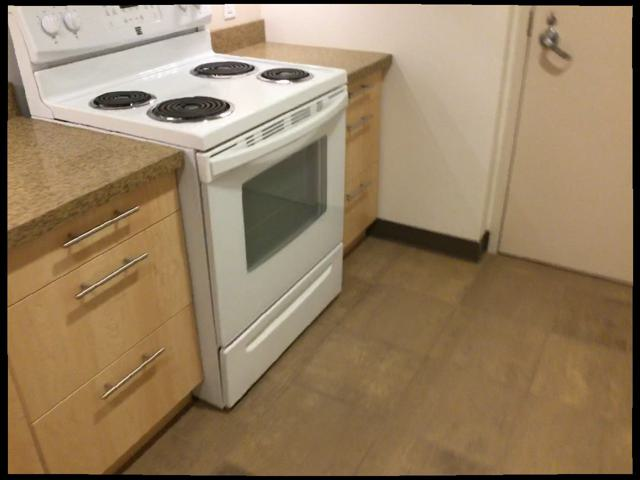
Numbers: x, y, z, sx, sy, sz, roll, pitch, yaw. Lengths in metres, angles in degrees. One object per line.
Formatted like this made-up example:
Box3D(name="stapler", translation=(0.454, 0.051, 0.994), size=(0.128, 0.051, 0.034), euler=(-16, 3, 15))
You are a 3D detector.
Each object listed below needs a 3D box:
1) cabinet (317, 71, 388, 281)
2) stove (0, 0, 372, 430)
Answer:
Box3D(name="cabinet", translation=(0.140, -0.271, 2.470), size=(0.070, 0.791, 0.450), euler=(17, 35, 27))
Box3D(name="stove", translation=(-0.389, -0.210, 1.980), size=(0.789, 1.182, 0.850), euler=(17, 35, 27))
